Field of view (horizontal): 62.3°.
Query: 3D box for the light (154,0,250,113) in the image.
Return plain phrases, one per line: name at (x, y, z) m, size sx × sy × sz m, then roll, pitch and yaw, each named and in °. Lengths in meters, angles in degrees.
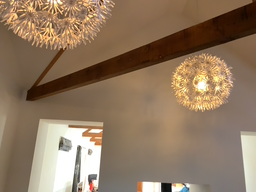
light at (0.790, -0.810, 2.430) m, size 0.700 × 1.840 × 0.640 m, roll 15°, pitch -20°, yaw -35°
